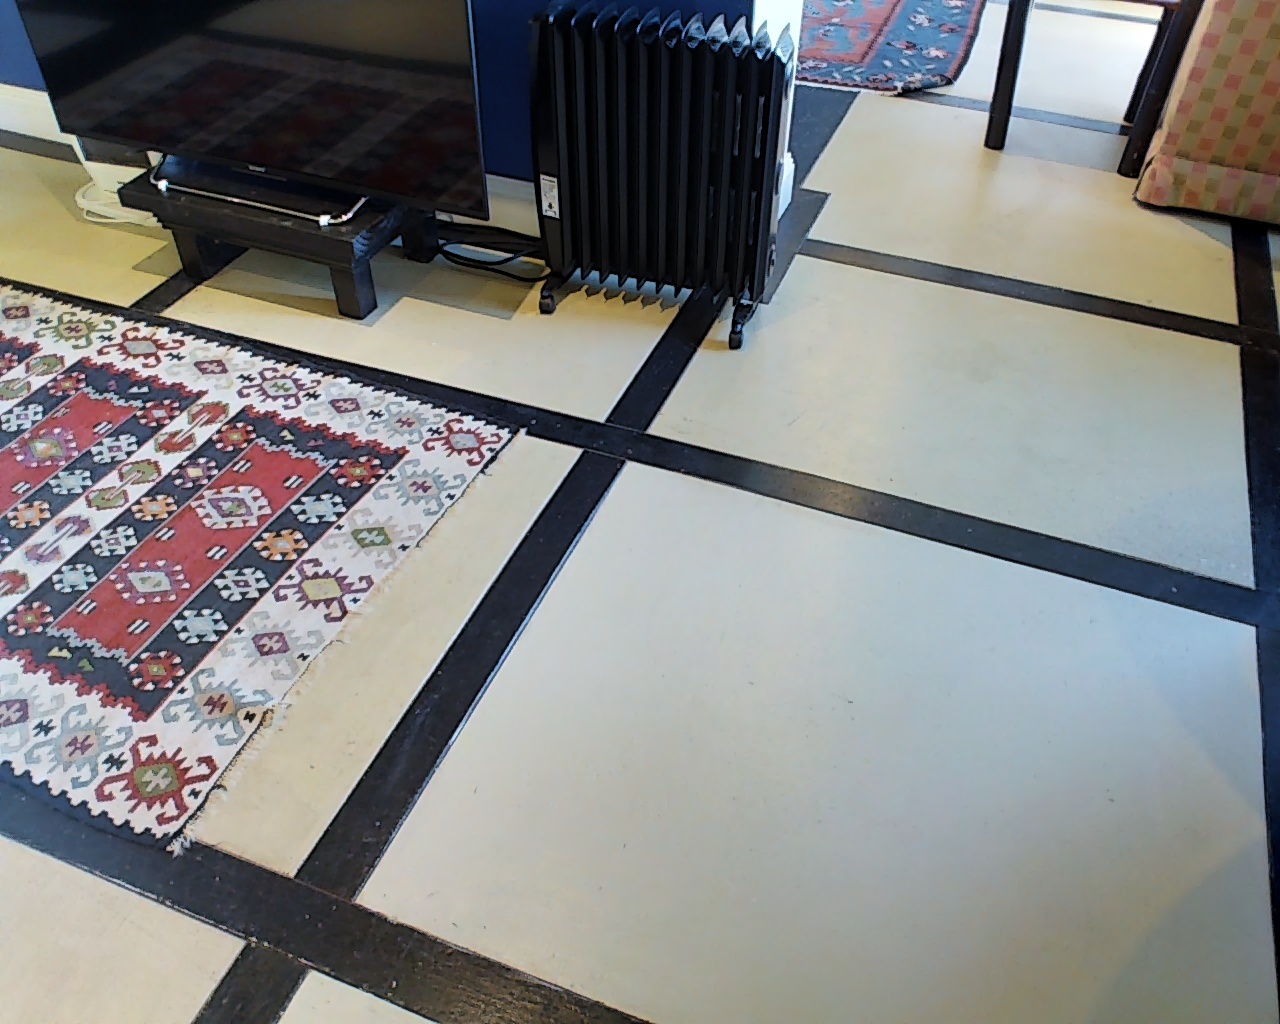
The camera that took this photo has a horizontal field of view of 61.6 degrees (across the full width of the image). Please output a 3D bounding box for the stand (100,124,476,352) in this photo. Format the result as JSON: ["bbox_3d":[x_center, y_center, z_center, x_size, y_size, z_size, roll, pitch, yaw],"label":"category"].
[{"bbox_3d":[-0.790,-0.650,2.480,0.680,0.250,0.410,15,43,16],"label":"stand"}]
